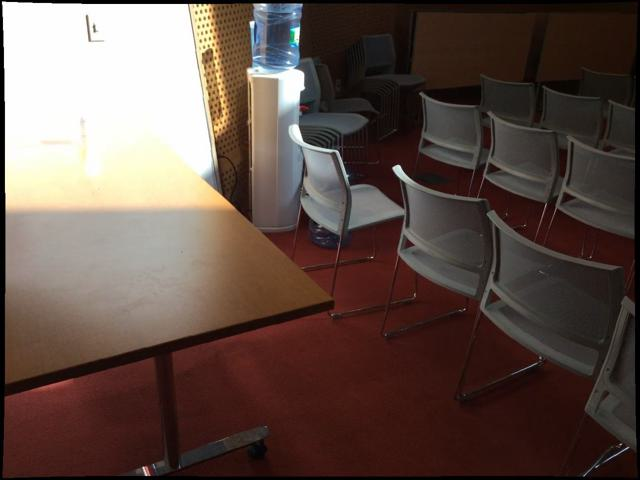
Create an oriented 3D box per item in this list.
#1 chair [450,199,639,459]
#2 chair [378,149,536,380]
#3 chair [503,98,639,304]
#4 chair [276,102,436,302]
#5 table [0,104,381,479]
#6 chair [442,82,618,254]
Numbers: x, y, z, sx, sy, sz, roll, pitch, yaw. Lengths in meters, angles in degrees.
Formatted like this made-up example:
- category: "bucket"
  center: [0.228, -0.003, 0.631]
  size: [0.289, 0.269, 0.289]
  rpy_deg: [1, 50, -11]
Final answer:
- category: "chair"
  center: [0.699, 0.280, 1.870]
  size: [0.180, 0.701, 0.480]
  rpy_deg: [-28, 38, -37]
- category: "chair"
  center: [0.480, 0.080, 2.200]
  size: [0.220, 0.701, 0.520]
  rpy_deg: [-22, 35, -30]
- category: "chair"
  center: [1.419, -0.230, 2.930]
  size: [0.570, 0.741, 0.640]
  rpy_deg: [-21, 34, -28]
- category: "chair"
  center: [0.160, -0.200, 2.750]
  size: [0.540, 0.711, 0.500]
  rpy_deg: [-15, 32, -21]
- category: "table"
  center: [-0.659, 0.170, 2.070]
  size: [0.919, 0.761, 1.700]
  rpy_deg: [-18, 33, -25]
- category: "chair"
  center: [1.159, -0.440, 3.320]
  size: [0.590, 0.701, 0.640]
  rpy_deg: [-16, 32, -23]
